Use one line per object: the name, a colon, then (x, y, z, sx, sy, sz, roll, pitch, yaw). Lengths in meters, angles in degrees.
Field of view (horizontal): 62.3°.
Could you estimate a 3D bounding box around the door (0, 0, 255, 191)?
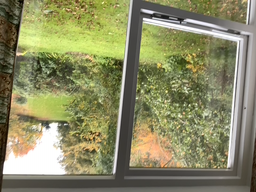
door: (0.110, -0.420, 1.310, 1.810, 2.000, 0.110, 6, 179, -18)
